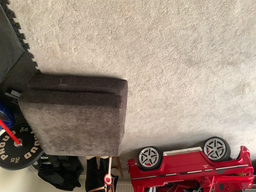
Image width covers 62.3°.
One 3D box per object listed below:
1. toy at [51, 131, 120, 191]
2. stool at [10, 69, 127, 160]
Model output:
[{"bbox_3d":[-0.370,0.950,2.230,0.490,0.740,0.990,-1,140,2],"label":"toy"},{"bbox_3d":[-0.370,0.190,1.660,0.690,0.320,0.750,2,140,-2],"label":"stool"}]
